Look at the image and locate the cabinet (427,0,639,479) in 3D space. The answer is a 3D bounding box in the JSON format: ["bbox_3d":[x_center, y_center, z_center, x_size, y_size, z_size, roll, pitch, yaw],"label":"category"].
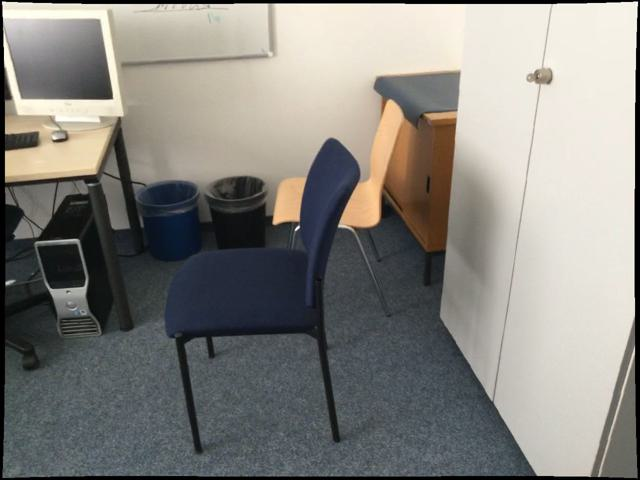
[{"bbox_3d":[0.609,-0.090,1.630,0.210,1.401,1.040,-6,29,-7],"label":"cabinet"}]

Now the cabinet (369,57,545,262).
[{"bbox_3d":[0.569,-0.410,2.700,0.510,0.681,0.770,-6,29,-7],"label":"cabinet"}]
